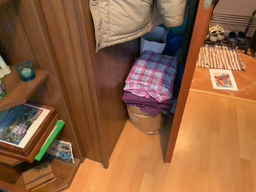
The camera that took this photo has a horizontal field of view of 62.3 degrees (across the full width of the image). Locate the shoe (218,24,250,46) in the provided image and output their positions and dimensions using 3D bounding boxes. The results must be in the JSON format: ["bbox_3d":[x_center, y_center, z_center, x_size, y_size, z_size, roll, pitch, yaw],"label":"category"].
[{"bbox_3d":[1.210,-0.700,2.440,0.280,0.130,0.210,11,45,11],"label":"shoe"}]
